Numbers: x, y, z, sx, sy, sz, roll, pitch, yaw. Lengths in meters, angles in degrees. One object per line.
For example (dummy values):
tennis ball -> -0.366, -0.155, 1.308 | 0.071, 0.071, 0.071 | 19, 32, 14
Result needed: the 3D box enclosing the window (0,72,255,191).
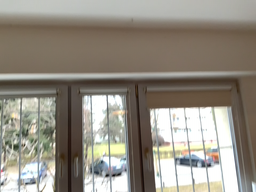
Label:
window -> -0.130, 0.460, 1.520 | 2.490, 1.250, 0.180 | -1, -10, -12
